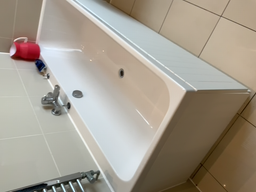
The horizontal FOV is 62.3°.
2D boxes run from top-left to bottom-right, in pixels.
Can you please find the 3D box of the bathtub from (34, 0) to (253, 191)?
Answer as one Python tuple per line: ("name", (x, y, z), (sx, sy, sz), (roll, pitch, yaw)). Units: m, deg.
("bathtub", (-0.150, -0.210, 1.590), (1.690, 0.550, 0.710), (47, 125, 39))
